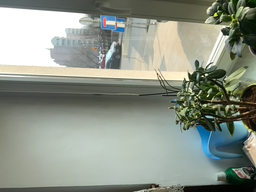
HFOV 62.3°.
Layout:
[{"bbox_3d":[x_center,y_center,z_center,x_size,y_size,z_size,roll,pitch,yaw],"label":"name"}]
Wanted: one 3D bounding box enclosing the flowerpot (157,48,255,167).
[{"bbox_3d":[0.420,0.030,0.760,0.330,0.530,0.240,-100,14,-50],"label":"flowerpot"}]
